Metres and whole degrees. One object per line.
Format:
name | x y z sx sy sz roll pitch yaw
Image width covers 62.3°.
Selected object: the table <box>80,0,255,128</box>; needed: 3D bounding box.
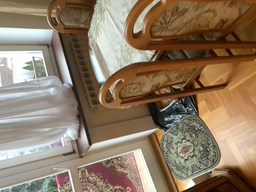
table | 0.290 -0.610 1.510 0.940 0.750 1.480 64 145 28
